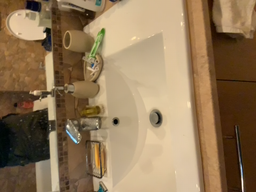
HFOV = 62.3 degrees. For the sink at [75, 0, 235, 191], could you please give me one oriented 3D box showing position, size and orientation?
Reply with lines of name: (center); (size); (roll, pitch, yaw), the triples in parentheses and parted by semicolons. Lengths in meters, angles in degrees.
sink: (0.040, 0.070, 0.680); (0.470, 0.180, 0.770); (-9, 84, 50)
